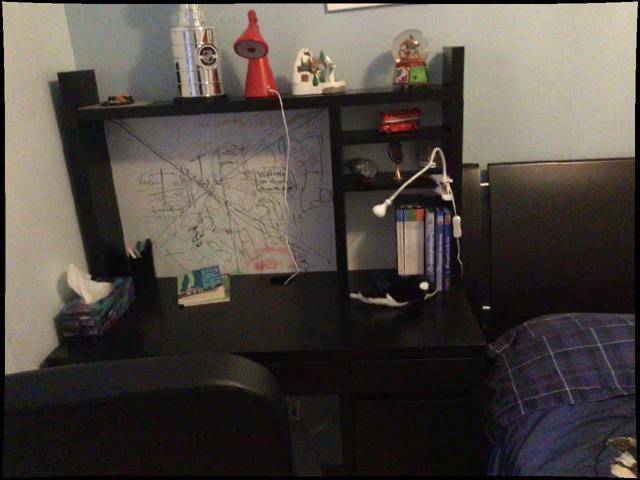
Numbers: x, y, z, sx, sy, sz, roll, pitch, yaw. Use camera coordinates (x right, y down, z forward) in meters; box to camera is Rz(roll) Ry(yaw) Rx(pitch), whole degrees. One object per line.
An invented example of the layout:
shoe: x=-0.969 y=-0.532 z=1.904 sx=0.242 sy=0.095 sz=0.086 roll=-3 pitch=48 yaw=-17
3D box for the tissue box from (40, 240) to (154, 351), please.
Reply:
tissue box: x=-0.589 y=0.140 z=1.570 sx=0.160 sy=0.180 sz=0.300 roll=-3 pitch=20 yaw=3

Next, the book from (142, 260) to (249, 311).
book: x=-0.360 y=0.130 z=1.710 sx=0.260 sy=0.050 sz=0.220 roll=-3 pitch=20 yaw=3
